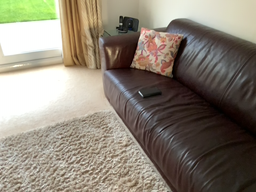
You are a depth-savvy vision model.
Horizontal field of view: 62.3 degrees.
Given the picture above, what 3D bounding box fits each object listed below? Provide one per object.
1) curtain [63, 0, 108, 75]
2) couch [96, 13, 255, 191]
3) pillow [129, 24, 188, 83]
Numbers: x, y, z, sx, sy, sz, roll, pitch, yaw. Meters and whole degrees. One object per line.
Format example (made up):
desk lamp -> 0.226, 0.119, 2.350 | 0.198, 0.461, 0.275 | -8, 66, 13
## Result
curtain -> -0.500, -1.300, 2.350 | 0.460, 2.210, 0.220 | -13, 36, -22
couch -> 0.570, 0.110, 1.460 | 0.870, 0.800, 2.170 | -14, 36, -22
pillow -> 0.270, -0.380, 1.910 | 0.370, 0.380, 0.150 | 30, 22, 14
